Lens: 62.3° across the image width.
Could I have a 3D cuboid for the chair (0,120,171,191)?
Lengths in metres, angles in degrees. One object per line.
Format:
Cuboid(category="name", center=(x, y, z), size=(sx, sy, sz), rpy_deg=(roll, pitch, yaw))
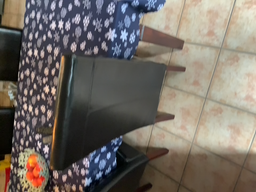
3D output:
Cuboid(category="chair", center=(-0.260, 0.560, 1.520), size=(0.590, 1.090, 0.430), rpy_deg=(23, 107, 36))
